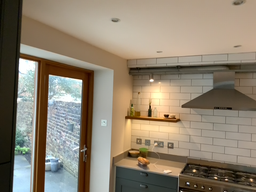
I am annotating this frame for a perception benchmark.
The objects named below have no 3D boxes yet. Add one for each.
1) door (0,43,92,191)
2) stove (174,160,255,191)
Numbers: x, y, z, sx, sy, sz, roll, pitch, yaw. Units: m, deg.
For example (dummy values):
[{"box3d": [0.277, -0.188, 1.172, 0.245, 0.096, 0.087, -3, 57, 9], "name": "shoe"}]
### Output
[{"box3d": [-0.900, 0.630, 2.310, 0.070, 2.120, 1.430, 2, -1, 26], "name": "door"}, {"box3d": [1.080, 0.980, 2.490, 0.930, 0.140, 0.620, 2, -1, 25], "name": "stove"}]
